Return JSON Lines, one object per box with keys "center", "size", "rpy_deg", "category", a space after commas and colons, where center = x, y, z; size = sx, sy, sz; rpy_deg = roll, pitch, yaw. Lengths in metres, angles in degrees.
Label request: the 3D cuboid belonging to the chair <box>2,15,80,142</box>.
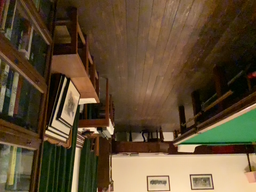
{"center": [-0.720, -0.140, 1.930], "size": [0.410, 1.050, 0.480], "rpy_deg": [0, 163, -1], "category": "chair"}
